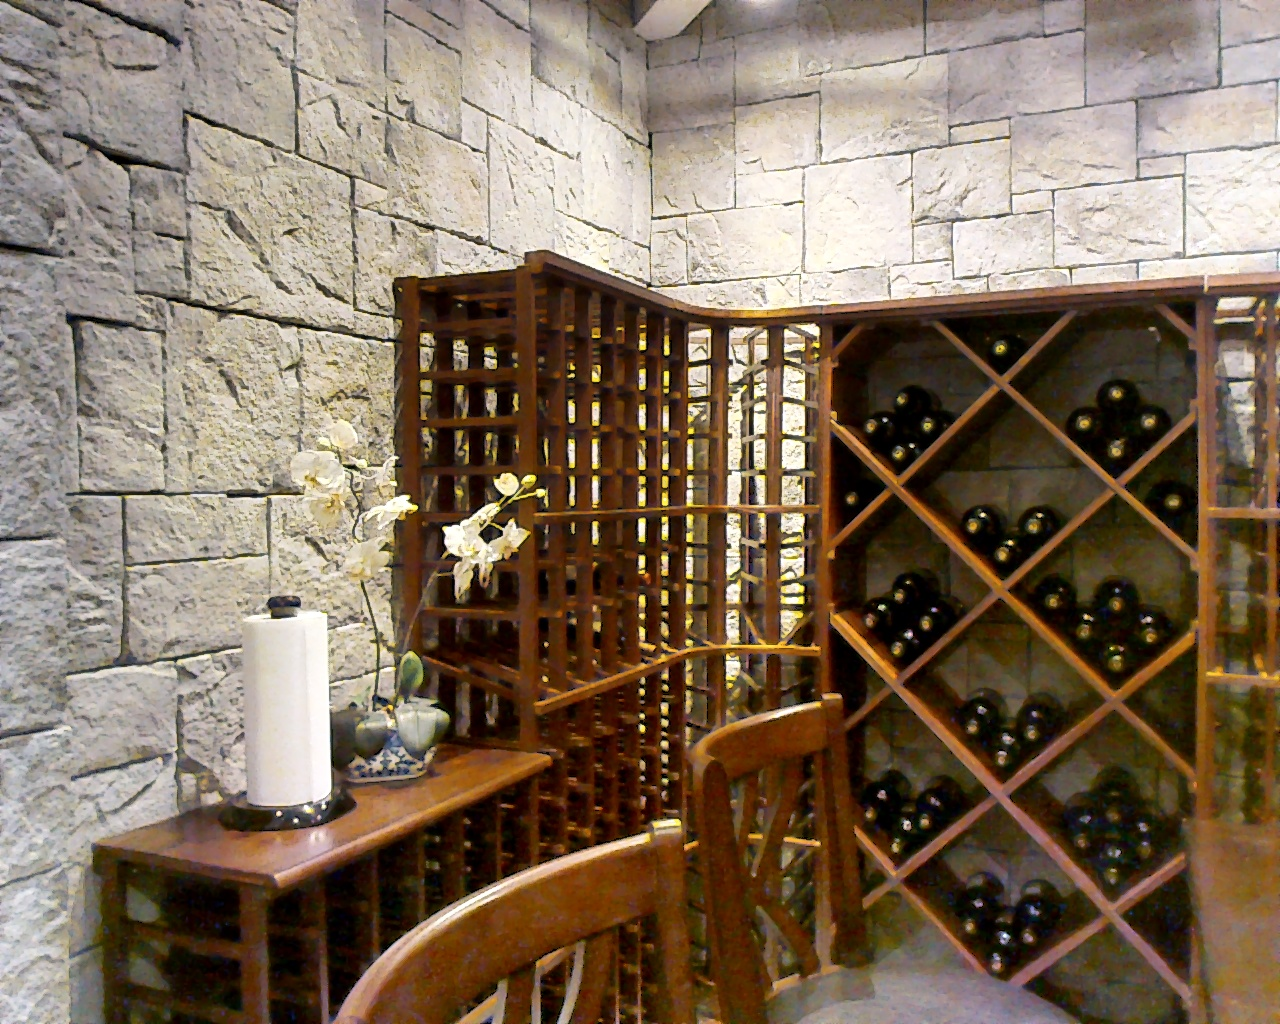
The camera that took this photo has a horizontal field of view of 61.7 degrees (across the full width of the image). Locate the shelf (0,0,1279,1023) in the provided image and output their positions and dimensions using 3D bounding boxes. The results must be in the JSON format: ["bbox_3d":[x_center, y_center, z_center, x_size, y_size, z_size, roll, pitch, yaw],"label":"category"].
[{"bbox_3d":[0.380,0.390,0.830,2.750,2.060,4.220,0,1,25],"label":"shelf"}]

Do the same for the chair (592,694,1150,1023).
[{"bbox_3d":[0.310,0.830,1.310,0.560,1.090,0.500,0,1,25],"label":"chair"}]
